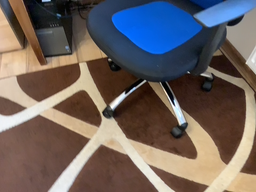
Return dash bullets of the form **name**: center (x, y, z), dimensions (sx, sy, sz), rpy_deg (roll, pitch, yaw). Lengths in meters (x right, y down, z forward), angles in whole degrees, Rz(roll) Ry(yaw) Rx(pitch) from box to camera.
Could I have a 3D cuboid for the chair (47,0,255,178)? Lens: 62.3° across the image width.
- **chair**: center (0.160, -0.370, 0.730), dimensions (0.700, 1.140, 0.650), rpy_deg (-31, 58, -20)
